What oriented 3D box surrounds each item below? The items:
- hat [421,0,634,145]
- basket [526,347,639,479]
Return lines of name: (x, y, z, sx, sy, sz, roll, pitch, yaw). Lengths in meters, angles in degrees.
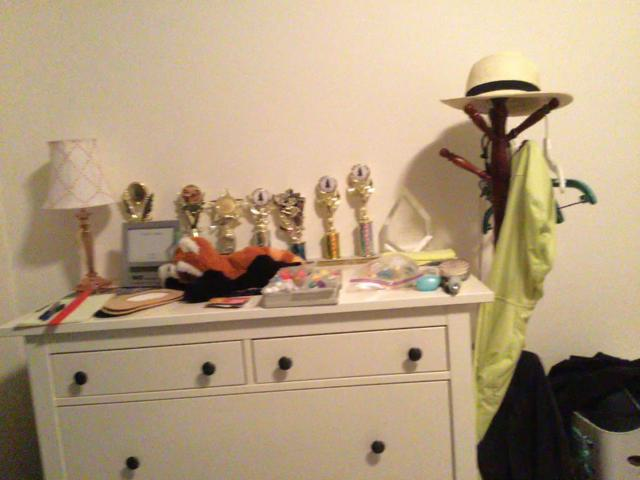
hat: (0.490, -0.410, 1.470, 0.370, 0.200, 0.400, -18, 5, 5)
basket: (0.870, 0.550, 1.550, 0.420, 0.340, 0.480, -15, 5, 5)
